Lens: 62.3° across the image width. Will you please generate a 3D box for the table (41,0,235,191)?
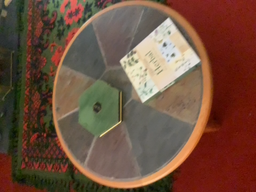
[{"bbox_3d":[0.010,-0.020,1.110,0.860,0.410,0.830,-9,79,30],"label":"table"}]
